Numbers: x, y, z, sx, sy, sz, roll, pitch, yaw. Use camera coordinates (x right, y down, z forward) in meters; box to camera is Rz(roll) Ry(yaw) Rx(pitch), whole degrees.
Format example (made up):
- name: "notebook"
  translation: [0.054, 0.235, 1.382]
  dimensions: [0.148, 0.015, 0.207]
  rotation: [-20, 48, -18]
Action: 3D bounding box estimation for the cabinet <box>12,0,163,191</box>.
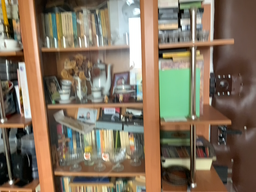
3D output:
- name: "cabinet"
  translation: [-0.160, 0.300, 1.300]
  dimensions: [0.710, 1.890, 0.390]
  rotation: [0, 10, 6]
